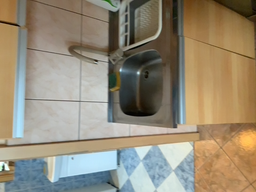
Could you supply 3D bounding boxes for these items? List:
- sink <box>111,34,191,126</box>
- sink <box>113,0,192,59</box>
[{"bbox_3d":[0.100,-0.060,1.170,0.480,0.150,0.410,-4,84,54],"label":"sink"},{"bbox_3d":[0.110,-0.430,1.190,0.490,0.150,0.330,-4,84,54],"label":"sink"}]
